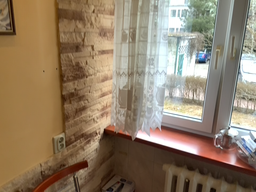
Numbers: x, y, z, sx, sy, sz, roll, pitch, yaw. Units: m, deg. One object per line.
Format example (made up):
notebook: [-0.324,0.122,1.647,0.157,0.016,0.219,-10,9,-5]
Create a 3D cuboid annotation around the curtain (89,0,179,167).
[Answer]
curtain: [0.040,-0.520,1.310,0.430,1.860,0.340,13,20,31]
